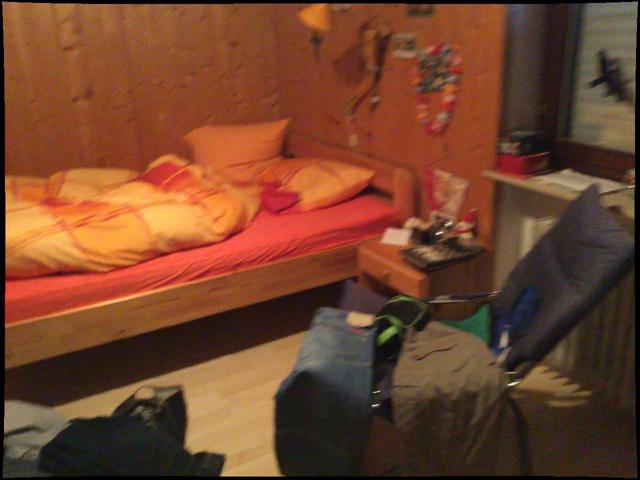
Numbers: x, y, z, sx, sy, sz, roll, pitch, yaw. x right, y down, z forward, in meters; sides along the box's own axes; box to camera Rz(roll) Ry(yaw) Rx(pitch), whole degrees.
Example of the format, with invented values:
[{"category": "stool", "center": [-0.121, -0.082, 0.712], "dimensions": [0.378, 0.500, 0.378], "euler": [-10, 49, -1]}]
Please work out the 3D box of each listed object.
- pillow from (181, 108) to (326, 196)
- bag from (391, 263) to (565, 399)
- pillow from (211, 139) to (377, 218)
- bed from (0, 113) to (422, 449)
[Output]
[{"category": "pillow", "center": [-0.410, -0.561, 3.510], "dimensions": [0.650, 0.320, 0.640], "euler": [-14, 25, -26]}, {"category": "bag", "center": [0.509, 0.280, 1.950], "dimensions": [0.310, 0.180, 0.480], "euler": [-14, 25, -26]}, {"category": "pillow", "center": [-0.160, -0.360, 3.120], "dimensions": [0.610, 0.160, 0.750], "euler": [-14, 25, -26]}, {"category": "bed", "center": [-0.859, -0.010, 2.910], "dimensions": [2.238, 0.781, 1.500], "euler": [-14, 25, -26]}]
